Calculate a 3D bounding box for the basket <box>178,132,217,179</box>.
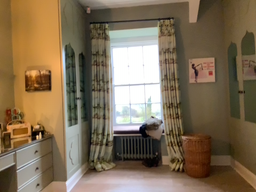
[{"bbox_3d":[0.980,0.830,3.050,0.440,0.550,0.420,-2,0,8],"label":"basket"}]
